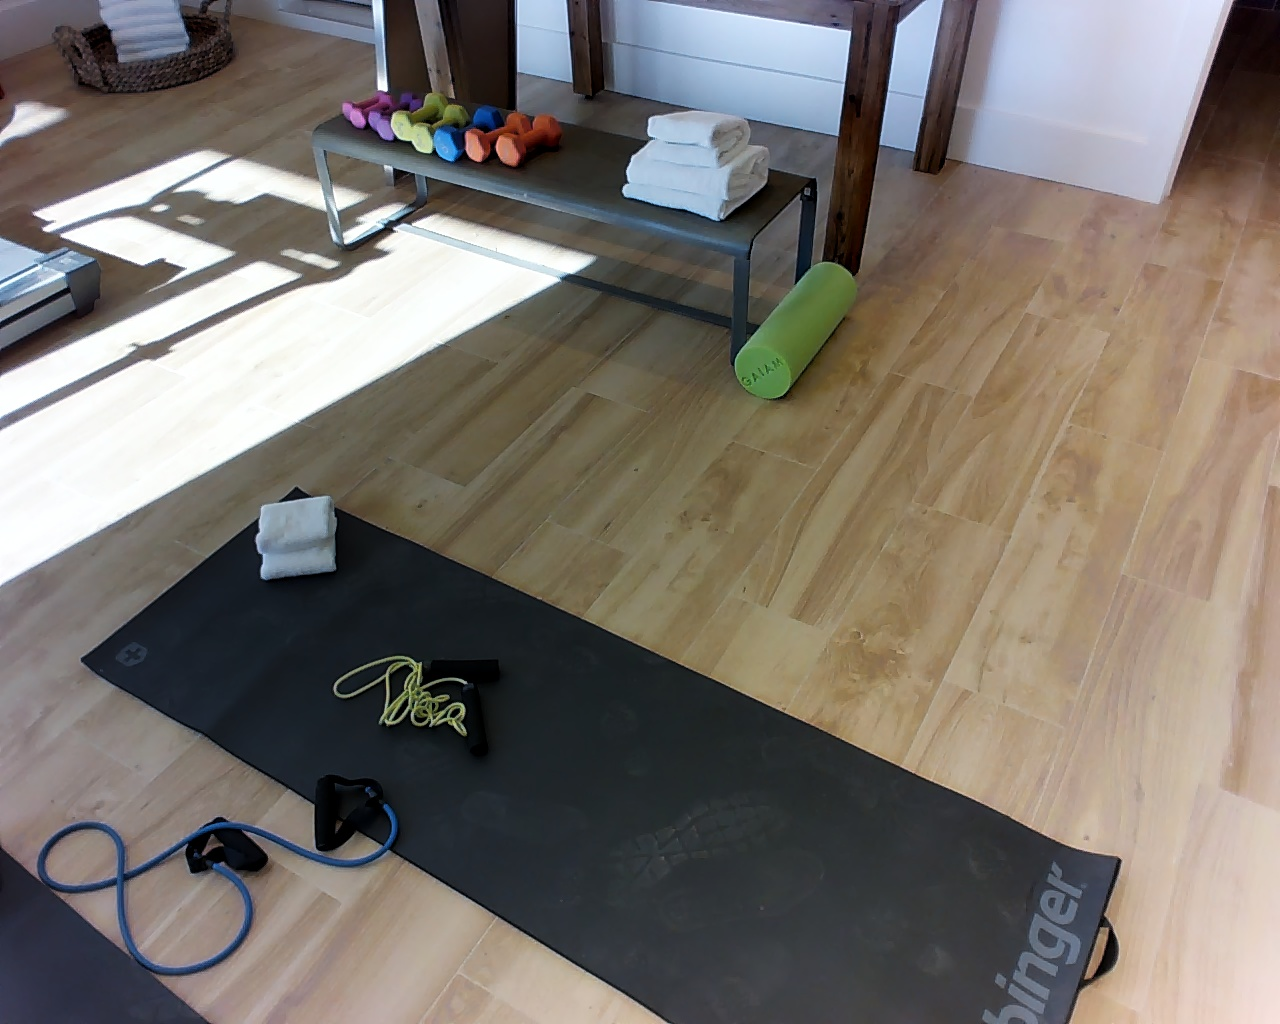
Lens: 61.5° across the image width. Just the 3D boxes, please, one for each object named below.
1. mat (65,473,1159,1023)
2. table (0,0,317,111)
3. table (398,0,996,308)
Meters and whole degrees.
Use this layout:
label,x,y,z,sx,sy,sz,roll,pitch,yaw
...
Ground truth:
label,x,y,z,sx,sy,sz,roll,pitch,yaw
mat,-0.140,0.420,1.900,1.880,0.020,0.640,22,47,24
table,-2.000,-2.040,4.510,0.770,0.250,0.930,26,49,27
table,0.190,-1.420,3.380,1.520,0.800,1.000,21,48,23
